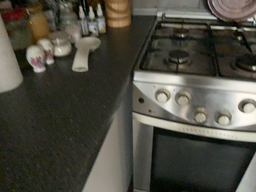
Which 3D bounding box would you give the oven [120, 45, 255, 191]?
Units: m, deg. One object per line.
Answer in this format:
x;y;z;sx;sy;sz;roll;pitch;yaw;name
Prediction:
0.310;0.190;1.120;0.550;0.680;0.600;8;37;11;oven

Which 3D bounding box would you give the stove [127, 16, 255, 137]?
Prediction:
0.310;-0.130;0.830;0.510;0.170;0.570;8;37;11;stove
